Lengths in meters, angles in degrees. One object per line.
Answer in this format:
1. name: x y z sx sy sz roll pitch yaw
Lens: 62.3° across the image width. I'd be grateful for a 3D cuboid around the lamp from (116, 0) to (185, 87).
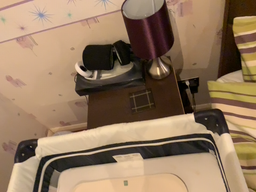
1. lamp: 0.100 -0.210 0.820 0.200 0.310 0.180 -8 56 13
